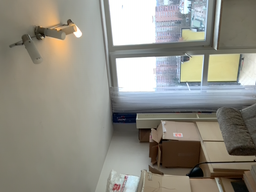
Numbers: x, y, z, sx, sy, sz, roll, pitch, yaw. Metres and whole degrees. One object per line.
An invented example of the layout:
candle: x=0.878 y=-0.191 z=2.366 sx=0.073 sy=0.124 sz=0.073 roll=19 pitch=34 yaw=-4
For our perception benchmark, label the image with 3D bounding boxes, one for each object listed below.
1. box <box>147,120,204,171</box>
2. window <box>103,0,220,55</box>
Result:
box: x=0.660 y=0.700 z=3.120 sx=0.560 sy=0.730 sz=0.500 roll=-66 pitch=-26 yaw=-72
window: x=0.440 y=-1.540 z=2.940 sx=0.220 sy=1.610 sz=1.870 roll=-77 pitch=-15 yaw=-60
